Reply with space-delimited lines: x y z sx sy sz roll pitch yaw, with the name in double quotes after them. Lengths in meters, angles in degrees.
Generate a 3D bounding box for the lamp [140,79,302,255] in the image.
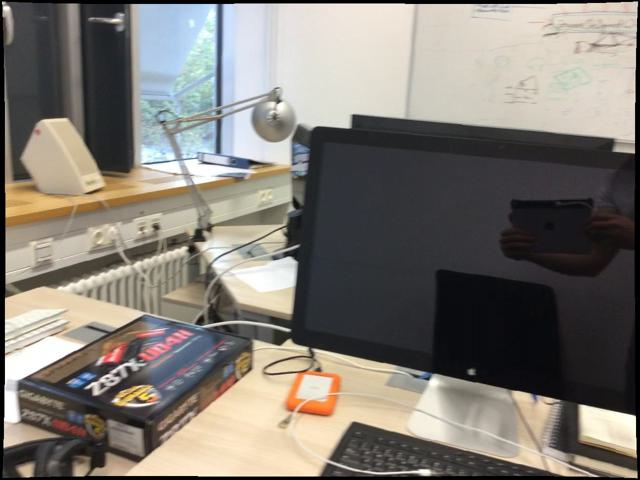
-0.340 -0.280 2.050 0.380 0.520 0.430 10 16 20 "lamp"

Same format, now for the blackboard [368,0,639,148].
0.929 -0.931 2.440 1.389 0.971 0.140 10 16 20 "blackboard"
